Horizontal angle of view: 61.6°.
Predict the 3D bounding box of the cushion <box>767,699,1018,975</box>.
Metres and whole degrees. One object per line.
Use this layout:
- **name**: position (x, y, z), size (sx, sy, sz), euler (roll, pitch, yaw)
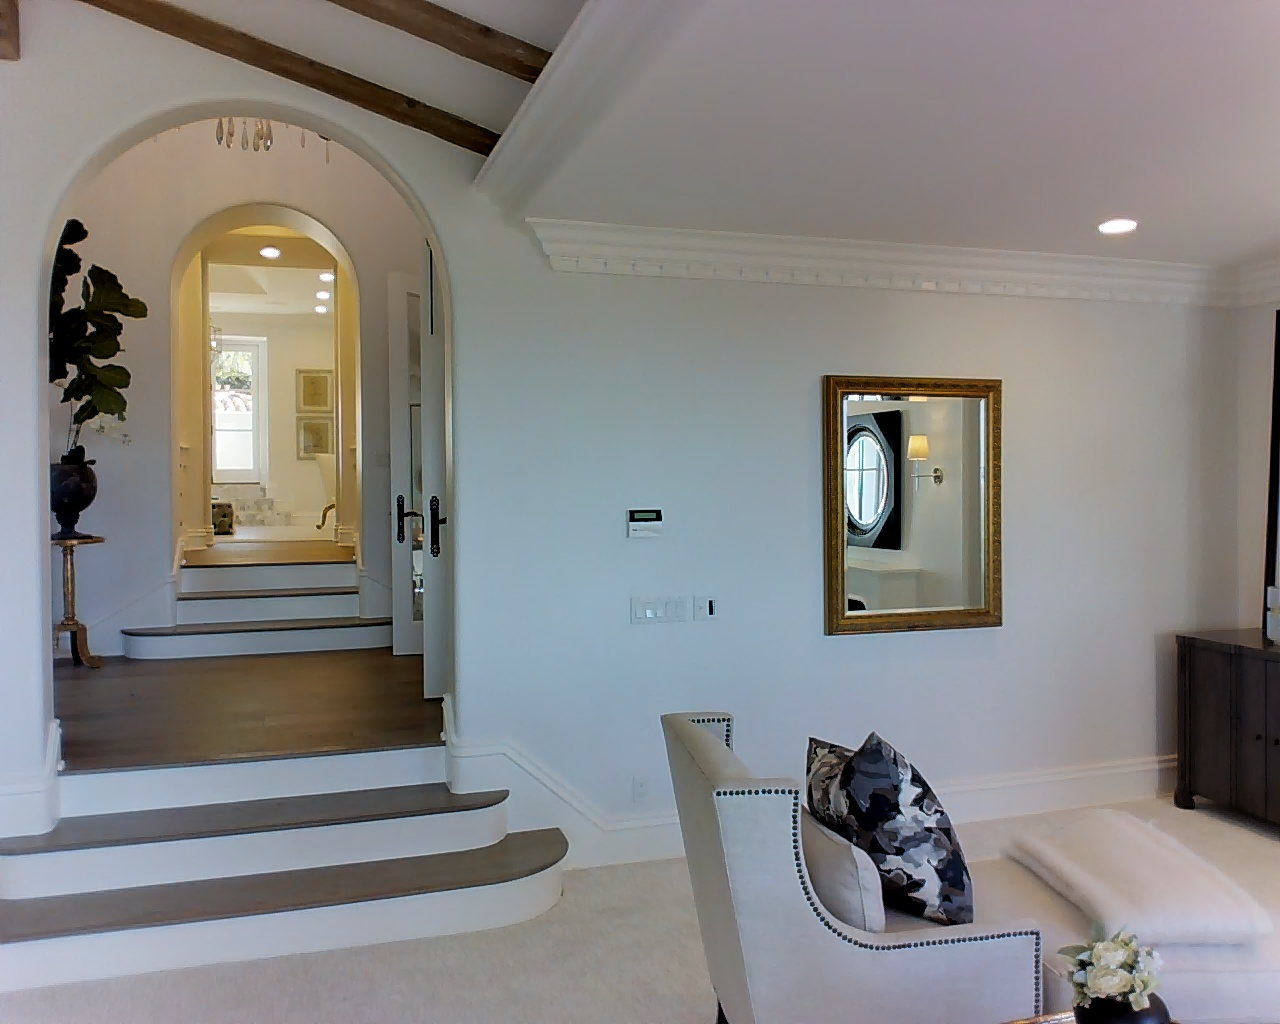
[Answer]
- **cushion**: position (0.650, 0.840, 2.890), size (0.330, 0.480, 0.580), euler (21, -2, -8)
